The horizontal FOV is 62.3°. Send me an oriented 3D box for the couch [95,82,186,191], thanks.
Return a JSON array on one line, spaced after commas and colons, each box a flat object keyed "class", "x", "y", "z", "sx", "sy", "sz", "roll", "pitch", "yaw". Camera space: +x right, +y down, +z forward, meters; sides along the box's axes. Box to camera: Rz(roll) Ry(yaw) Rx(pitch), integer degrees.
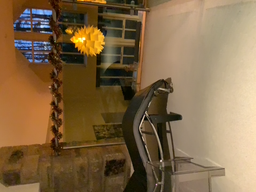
[{"class": "couch", "x": 0.080, "y": 0.610, "z": 2.030, "sx": 0.610, "sy": 0.660, "sz": 1.400, "roll": 162, "pitch": 106, "yaw": -71}]
